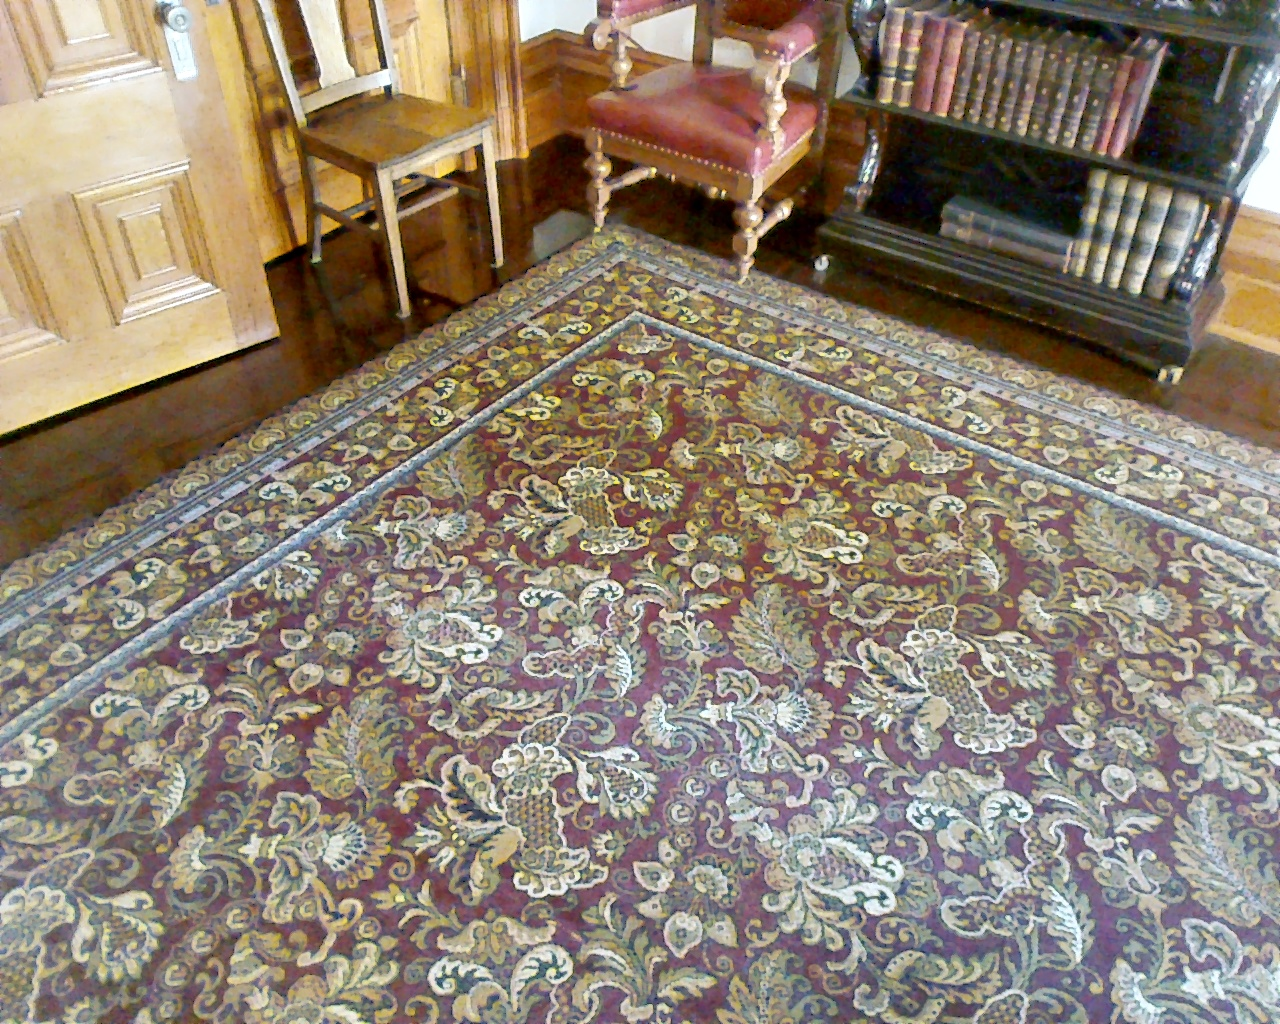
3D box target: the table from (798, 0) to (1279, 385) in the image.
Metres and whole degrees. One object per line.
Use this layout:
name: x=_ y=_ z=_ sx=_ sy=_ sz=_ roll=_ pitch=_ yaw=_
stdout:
table: x=1.070 y=-1.050 z=2.800 sx=1.120 sy=1.000 sz=0.490 roll=27 pitch=48 yaw=27
